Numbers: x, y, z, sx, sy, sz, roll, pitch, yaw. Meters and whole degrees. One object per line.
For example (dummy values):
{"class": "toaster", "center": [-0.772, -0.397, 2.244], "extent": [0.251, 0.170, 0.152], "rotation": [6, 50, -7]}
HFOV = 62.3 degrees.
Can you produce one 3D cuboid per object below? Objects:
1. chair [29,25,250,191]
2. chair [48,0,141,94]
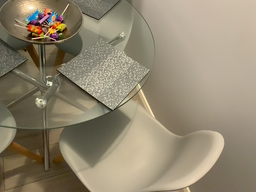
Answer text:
{"class": "chair", "center": [-0.030, 0.230, 0.970], "extent": [0.460, 0.810, 0.520], "rotation": [-33, 69, -31]}
{"class": "chair", "center": [-0.210, -0.470, 1.430], "extent": [0.420, 0.780, 0.430], "rotation": [23, 54, 2]}
